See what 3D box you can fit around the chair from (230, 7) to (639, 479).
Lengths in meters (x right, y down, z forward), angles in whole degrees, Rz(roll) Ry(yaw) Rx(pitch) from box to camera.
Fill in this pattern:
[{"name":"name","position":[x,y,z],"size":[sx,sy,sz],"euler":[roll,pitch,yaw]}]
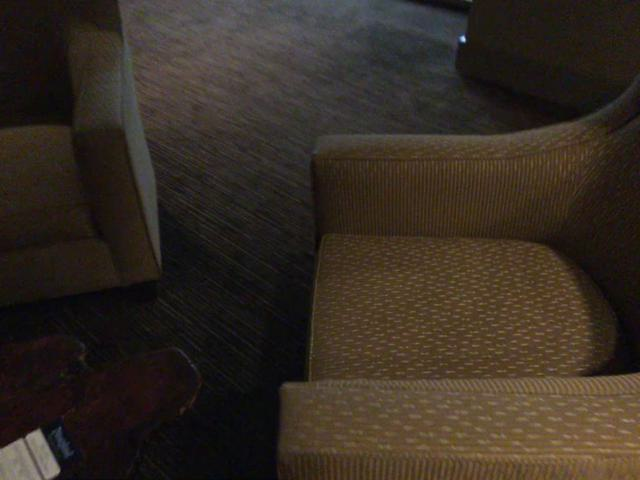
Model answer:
[{"name":"chair","position":[0.420,0.140,1.140],"size":[0.980,0.880,0.890],"euler":[3,37,2]}]

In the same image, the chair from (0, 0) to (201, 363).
[{"name":"chair","position":[-0.950,-0.340,1.740],"size":[0.960,0.890,1.070],"euler":[-9,38,-14]}]
